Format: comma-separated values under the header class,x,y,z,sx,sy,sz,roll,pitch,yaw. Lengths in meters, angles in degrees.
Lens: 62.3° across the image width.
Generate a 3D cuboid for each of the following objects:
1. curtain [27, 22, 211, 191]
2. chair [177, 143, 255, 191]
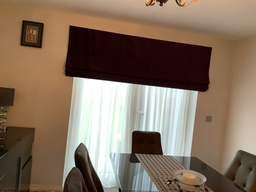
class,x,y,z,sx,sy,sz,roll,pitch,yaw
curtain,-0.100,0.330,3.030,2.360,2.390,0.080,6,2,-6
chair,0.810,0.970,1.880,0.570,0.950,0.500,6,2,-12
